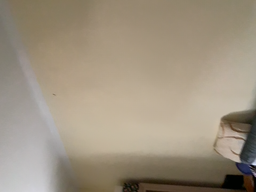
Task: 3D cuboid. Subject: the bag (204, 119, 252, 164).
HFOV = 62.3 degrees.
[{"bbox_3d":[1.140,0.540,2.480,0.190,0.370,0.560,-80,-12,-52],"label":"bag"}]
